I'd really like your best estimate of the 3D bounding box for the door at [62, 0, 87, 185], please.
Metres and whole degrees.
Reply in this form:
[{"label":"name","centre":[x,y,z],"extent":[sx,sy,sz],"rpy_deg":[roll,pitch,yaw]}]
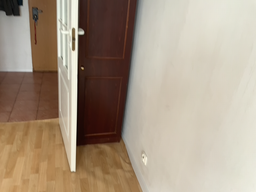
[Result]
[{"label":"door","centre":[-0.460,-0.340,1.730],"extent":[0.120,2.060,0.780],"rpy_deg":[-1,26,-18]}]
